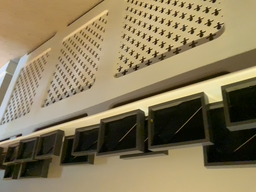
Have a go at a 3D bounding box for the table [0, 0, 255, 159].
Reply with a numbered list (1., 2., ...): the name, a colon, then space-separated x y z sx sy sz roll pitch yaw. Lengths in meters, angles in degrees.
1. table: -0.340 -0.210 1.310 2.060 1.020 0.180 -17 146 34
